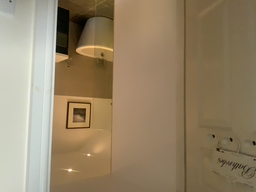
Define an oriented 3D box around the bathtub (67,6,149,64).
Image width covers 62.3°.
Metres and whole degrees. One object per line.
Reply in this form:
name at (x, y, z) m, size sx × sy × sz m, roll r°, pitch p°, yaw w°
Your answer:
bathtub at (-0.360, -1.150, 4.360) m, size 1.500 × 0.620 × 0.790 m, roll 6°, pitch 174°, yaw -44°
